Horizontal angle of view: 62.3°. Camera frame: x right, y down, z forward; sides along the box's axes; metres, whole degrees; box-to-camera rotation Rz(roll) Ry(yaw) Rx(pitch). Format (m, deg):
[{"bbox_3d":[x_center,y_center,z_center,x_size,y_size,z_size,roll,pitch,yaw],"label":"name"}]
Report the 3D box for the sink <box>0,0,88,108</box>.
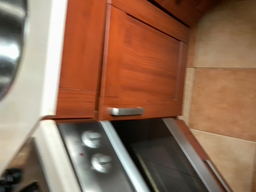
[{"bbox_3d":[-0.400,-0.210,0.800,0.460,0.220,0.460,5,90,39],"label":"sink"}]
